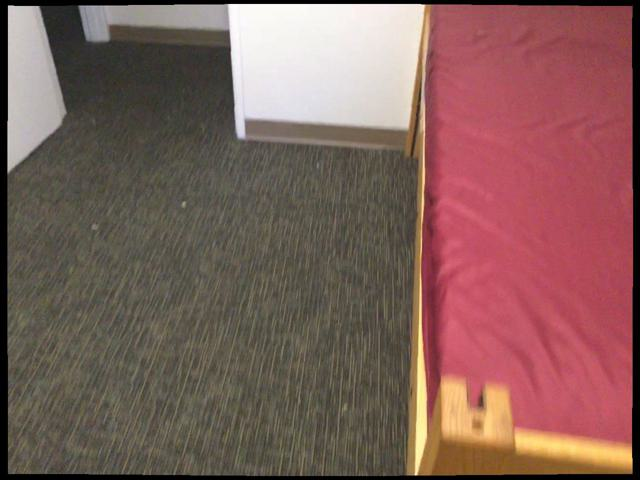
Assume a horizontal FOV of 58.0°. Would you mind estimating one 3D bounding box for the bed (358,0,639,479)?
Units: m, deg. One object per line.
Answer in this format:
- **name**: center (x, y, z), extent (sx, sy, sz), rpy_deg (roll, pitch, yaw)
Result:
- **bed**: center (0.709, -0.060, 1.590), extent (1.118, 0.941, 2.282), rpy_deg (4, 39, 3)
